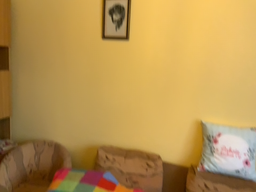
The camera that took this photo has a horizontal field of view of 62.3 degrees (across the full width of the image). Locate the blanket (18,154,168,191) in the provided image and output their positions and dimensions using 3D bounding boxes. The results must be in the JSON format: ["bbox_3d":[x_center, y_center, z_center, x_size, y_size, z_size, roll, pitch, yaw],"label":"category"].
[{"bbox_3d":[-0.210,0.740,1.390,0.820,0.300,0.670,7,10,16],"label":"blanket"}]
